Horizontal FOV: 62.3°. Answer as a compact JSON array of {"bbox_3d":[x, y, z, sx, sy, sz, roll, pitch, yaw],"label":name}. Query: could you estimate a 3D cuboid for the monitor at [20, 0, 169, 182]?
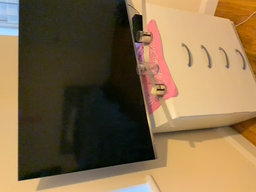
[{"bbox_3d":[-0.200,-0.200,1.160,0.050,0.690,1.140,137,128,-60],"label":"monitor"}]
